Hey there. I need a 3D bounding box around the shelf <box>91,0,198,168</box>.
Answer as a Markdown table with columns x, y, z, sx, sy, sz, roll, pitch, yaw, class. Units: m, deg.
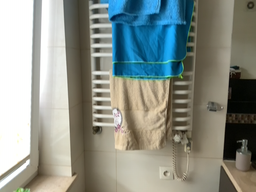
| x | y | z | sx | sy | sz | roll | pitch | yaw | class |
| --- | --- | --- | --- | --- | --- | --- | --- | --- | --- |
| 0.080 | -0.240 | 1.120 | 0.490 | 1.180 | 0.240 | 1 | 9 | 5 | shelf |
